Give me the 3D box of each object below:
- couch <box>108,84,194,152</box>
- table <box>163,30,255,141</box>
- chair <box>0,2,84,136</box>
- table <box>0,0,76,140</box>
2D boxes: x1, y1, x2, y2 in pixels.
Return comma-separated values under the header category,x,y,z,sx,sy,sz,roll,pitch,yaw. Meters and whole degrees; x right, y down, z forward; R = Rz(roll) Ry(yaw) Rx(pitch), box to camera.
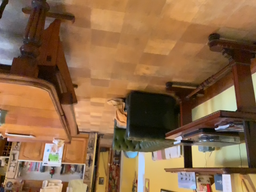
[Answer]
category,x,y,z,sx,sy,sz,roll,pitch,yaw
couch,0.260,0.520,3.760,0.940,0.740,1.850,7,161,-11
table,0.820,0.010,2.180,0.570,0.720,1.140,6,161,-8
chair,-0.760,-0.070,2.180,0.500,0.720,1.560,7,161,-11
table,-1.160,-0.100,2.120,1.130,0.720,2.350,7,161,-11
